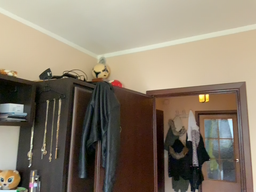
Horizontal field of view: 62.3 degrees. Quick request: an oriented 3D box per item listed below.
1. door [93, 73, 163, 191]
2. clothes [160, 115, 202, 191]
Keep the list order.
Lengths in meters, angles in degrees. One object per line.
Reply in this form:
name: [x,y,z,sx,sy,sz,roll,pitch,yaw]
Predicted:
door: [0.050,0.870,1.850,0.110,2.000,0.860,-6,-12,37]
clothes: [1.080,1.170,4.410,0.770,1.530,0.230,-5,-11,32]
